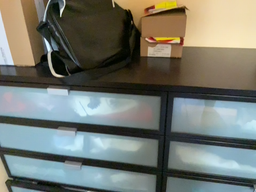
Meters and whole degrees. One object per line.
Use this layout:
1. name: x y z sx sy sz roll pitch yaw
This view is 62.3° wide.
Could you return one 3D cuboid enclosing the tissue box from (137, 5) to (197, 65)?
1. tissue box: 0.180 -0.300 1.000 0.230 0.220 0.250 5 29 11
